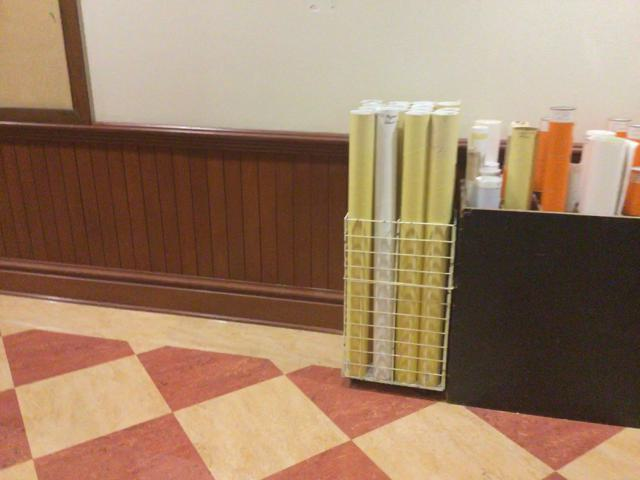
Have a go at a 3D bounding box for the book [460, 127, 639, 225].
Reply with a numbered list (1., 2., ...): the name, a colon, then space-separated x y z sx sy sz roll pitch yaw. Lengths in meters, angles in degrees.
1. book: 1.090 -0.240 2.040 1.120 0.240 0.470 2 20 10
